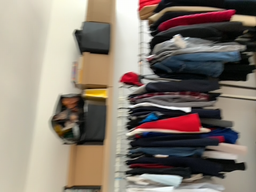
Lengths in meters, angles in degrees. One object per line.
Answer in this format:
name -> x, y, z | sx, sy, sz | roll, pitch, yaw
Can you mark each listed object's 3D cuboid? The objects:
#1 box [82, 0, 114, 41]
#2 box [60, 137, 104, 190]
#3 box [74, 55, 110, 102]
box -> -0.330, -0.930, 2.440 | 0.330, 0.320, 0.460 | 108, 164, -75
box -> -0.400, 0.620, 1.970 | 0.310, 0.330, 0.430 | 104, 167, -72
box -> -0.360, -0.170, 2.220 | 0.320, 0.320, 0.400 | 107, 165, -74
